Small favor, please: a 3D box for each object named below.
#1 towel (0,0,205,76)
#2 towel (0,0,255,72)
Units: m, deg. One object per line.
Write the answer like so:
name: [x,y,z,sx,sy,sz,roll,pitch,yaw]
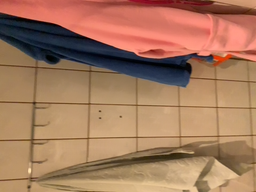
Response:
towel: [-0.150,-0.200,0.820,0.250,0.870,0.140,161,110,-70]
towel: [0.050,-0.200,0.630,0.220,1.110,0.130,163,109,-71]
